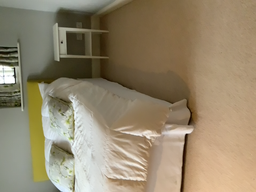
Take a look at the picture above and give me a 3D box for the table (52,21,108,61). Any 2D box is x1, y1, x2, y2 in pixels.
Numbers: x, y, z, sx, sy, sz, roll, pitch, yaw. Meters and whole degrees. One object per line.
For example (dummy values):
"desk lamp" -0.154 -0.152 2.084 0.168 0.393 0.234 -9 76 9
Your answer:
"table" -0.680 -0.740 2.990 0.480 0.670 0.480 -158 67 -62
